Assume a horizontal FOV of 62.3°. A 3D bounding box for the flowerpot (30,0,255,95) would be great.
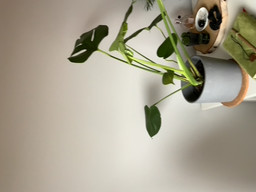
[{"bbox_3d":[0.140,-0.230,0.690,0.590,0.700,0.330,136,134,-74],"label":"flowerpot"}]
